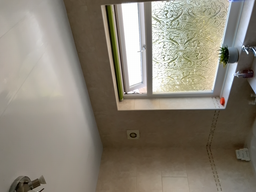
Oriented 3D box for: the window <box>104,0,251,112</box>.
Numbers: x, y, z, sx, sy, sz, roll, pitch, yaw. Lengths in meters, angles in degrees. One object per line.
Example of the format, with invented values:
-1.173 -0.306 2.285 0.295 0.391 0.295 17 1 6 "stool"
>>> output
0.440 -0.420 2.220 0.330 1.180 1.270 -85 -7 -51 "window"
